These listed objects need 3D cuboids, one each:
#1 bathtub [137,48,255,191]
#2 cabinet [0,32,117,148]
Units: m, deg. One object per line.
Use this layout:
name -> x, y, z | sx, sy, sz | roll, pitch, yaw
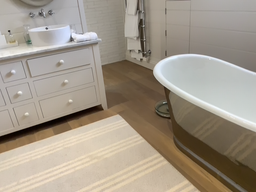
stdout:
bathtub -> 0.810, 0.210, 1.460 | 0.770, 0.690, 1.570 | -16, 28, -23
cabinet -> -1.090, -0.080, 2.260 | 1.780, 0.870, 0.580 | -16, 28, -23
